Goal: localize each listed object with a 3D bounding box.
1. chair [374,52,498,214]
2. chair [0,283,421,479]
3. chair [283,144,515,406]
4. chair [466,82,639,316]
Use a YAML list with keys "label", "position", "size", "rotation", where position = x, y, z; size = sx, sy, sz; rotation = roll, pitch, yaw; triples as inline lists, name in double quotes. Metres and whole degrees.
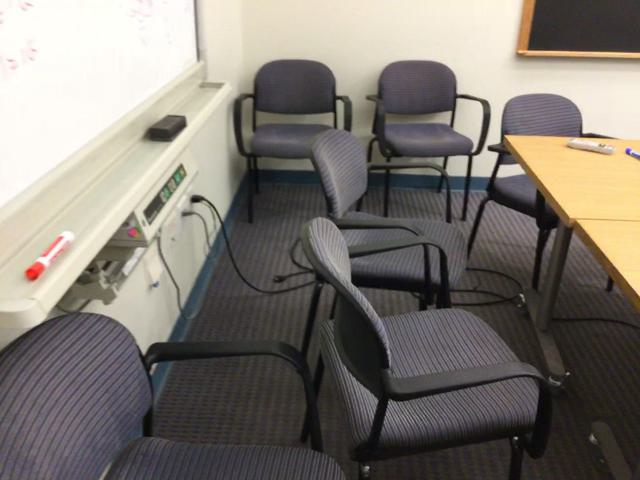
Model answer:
- label: "chair"
  position: [0.580, -0.590, 3.110]
  size: [0.560, 0.760, 0.540]
  rotation: [-1, 21, 4]
- label: "chair"
  position: [-0.170, 0.510, 1.010]
  size: [0.620, 0.700, 0.540]
  rotation: [0, 21, 4]
- label: "chair"
  position: [0.280, 0.070, 1.950]
  size: [0.630, 0.660, 0.570]
  rotation: [3, 22, 14]
- label: "chair"
  position: [1.040, -0.210, 2.490]
  size: [0.550, 0.830, 0.530]
  rotation: [-9, 22, -17]
